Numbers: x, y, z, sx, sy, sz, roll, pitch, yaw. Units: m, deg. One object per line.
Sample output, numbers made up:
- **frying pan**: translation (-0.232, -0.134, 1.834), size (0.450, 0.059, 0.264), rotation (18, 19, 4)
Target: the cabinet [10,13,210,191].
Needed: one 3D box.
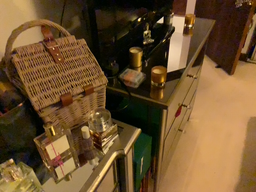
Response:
- **cabinet**: translation (0.050, 0.100, 1.240), size (0.480, 0.780, 1.030), rotation (17, 43, 22)
